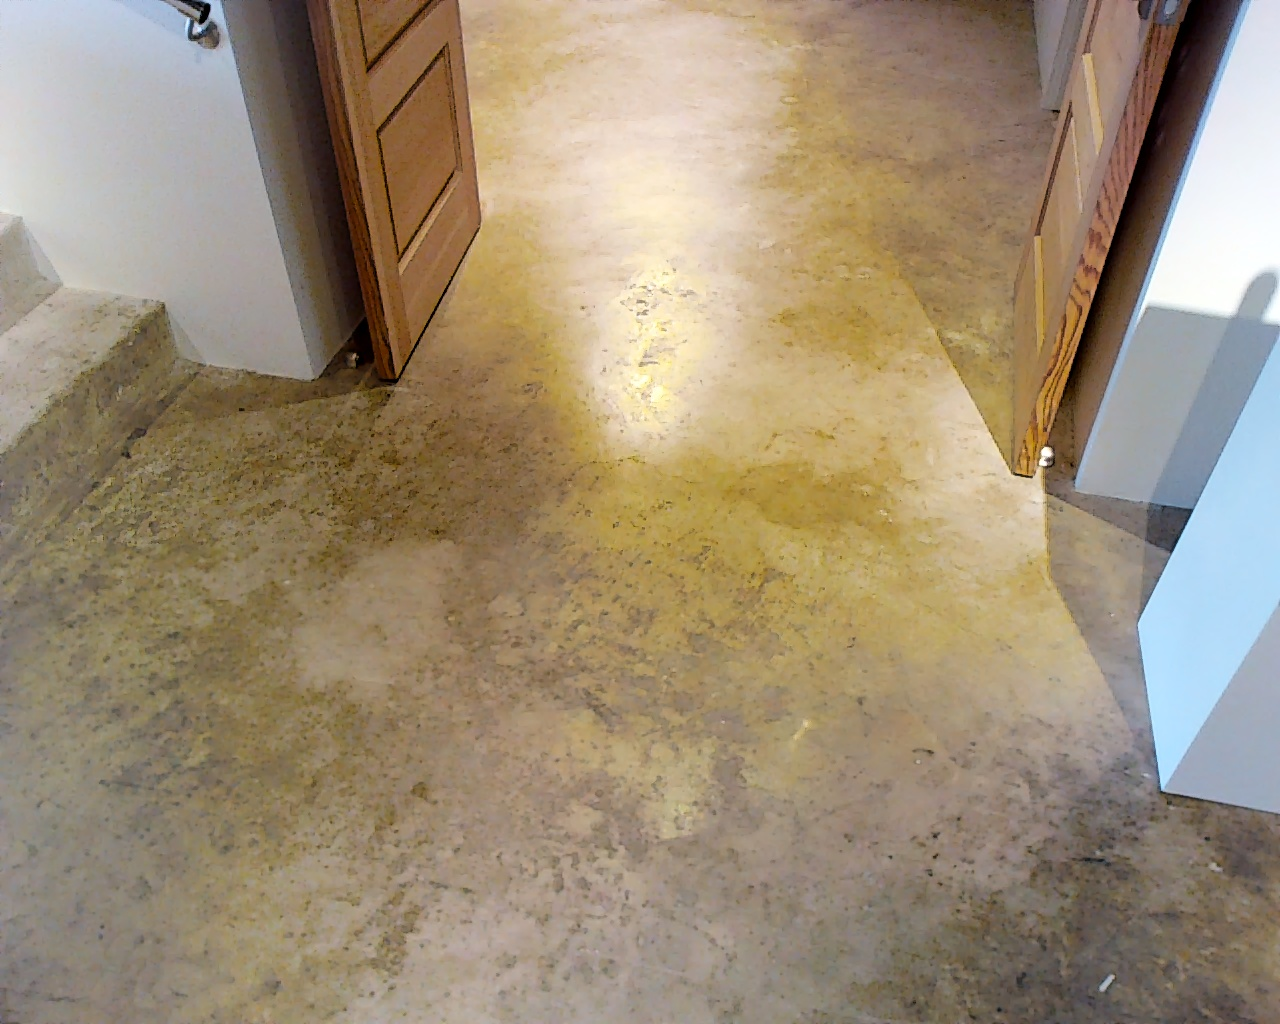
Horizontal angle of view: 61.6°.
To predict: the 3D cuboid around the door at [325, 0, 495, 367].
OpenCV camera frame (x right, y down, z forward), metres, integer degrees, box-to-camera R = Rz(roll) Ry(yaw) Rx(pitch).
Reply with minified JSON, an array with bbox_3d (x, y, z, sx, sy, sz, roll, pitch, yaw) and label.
[{"bbox_3d":[-0.510,-1.490,2.060,0.060,2.410,0.740,6,43,7],"label":"door"}]
